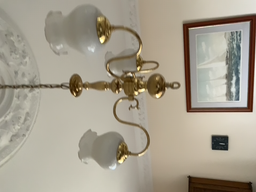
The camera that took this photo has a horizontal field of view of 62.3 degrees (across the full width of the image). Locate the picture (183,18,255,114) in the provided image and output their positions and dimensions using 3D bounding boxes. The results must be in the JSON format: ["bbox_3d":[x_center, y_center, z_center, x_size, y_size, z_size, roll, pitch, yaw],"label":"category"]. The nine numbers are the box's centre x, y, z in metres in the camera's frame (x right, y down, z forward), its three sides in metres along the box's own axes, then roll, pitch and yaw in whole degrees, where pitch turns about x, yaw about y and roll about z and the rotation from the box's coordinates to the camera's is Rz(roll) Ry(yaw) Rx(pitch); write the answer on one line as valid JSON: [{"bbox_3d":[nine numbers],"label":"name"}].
[{"bbox_3d":[1.070,-0.310,2.510,0.090,0.800,1.080,-49,-44,-64],"label":"picture"}]
